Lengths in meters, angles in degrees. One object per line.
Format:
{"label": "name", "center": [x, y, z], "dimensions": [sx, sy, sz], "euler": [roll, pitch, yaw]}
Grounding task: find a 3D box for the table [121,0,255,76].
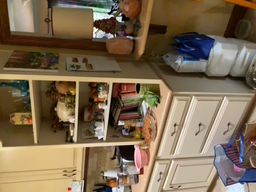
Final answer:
{"label": "table", "center": [0.630, -1.020, 1.790], "dimensions": [0.680, 1.080, 1.510], "euler": [-113, 28, -56]}
